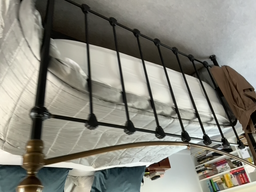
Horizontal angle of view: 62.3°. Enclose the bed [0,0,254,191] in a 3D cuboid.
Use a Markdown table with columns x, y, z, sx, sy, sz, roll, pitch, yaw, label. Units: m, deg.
| x | y | z | sx | sy | sz | roll | pitch | yaw | label |
| --- | --- | --- | --- | --- | --- | --- | --- | --- | --- |
| -0.370 | 0.320 | 1.920 | 1.630 | 0.720 | 2.010 | 14 | 141 | -34 | bed |
